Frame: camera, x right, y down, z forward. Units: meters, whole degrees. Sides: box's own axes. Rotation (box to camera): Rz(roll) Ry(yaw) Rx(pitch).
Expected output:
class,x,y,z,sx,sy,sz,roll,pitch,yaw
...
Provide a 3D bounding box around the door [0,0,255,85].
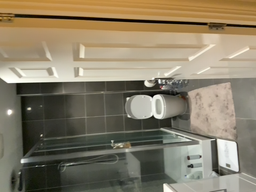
class,x,y,z,sx,sy,sz,roll,pitch,yaw
door,0.260,-0.210,1.120,0.830,2.010,0.060,141,125,-72

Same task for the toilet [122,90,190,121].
class,x,y,z,sx,sy,sz,roll,pitch,yaw
toilet,0.380,0.130,3.150,0.660,0.790,0.380,175,93,-76
